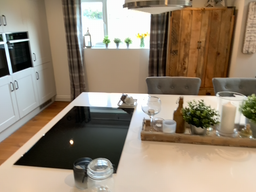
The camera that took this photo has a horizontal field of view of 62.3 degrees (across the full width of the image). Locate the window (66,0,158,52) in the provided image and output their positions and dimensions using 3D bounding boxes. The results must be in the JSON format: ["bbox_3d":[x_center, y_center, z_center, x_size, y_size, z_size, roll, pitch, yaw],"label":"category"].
[{"bbox_3d":[-0.310,-1.480,4.150,1.700,1.120,0.400,4,19,13],"label":"window"}]
